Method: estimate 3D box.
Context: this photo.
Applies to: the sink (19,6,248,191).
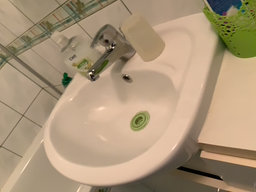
[{"bbox_3d":[-0.020,0.030,0.550,0.510,0.140,0.380,-3,52,46],"label":"sink"}]
